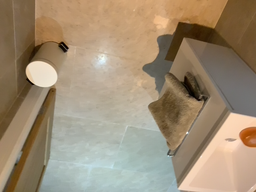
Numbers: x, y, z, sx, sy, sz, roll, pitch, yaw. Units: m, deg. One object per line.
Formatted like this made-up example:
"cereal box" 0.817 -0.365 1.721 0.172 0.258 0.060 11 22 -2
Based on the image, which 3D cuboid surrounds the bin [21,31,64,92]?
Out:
"bin" -0.500 -0.210 1.260 0.160 0.270 0.230 12 126 -11
